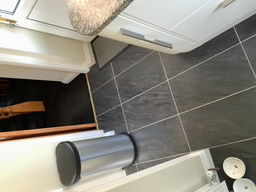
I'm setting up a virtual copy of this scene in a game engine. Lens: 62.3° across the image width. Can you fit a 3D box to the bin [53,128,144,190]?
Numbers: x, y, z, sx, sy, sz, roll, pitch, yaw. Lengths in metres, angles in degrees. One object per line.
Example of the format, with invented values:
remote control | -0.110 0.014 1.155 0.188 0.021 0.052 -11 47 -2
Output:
bin | -0.240 0.530 1.880 0.310 0.680 0.350 -29 70 40
